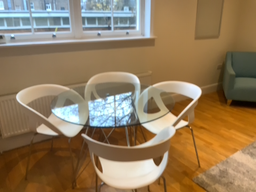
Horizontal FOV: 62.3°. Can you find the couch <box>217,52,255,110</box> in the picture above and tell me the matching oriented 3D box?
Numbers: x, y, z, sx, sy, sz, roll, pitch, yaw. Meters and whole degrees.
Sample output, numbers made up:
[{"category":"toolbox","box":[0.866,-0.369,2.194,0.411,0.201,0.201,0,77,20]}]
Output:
[{"category":"couch","box":[2.070,-0.290,3.700,0.780,0.820,0.790,5,20,15]}]
